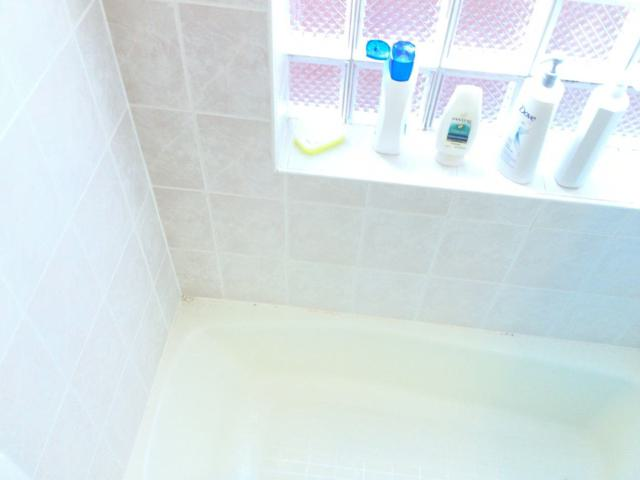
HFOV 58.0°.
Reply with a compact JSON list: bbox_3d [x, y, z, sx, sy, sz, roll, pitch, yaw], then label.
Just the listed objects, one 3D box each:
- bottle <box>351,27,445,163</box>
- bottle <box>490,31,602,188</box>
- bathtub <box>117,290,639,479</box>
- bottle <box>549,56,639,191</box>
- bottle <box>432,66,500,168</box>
[{"bbox_3d":[0.170,-0.320,1.300,0.170,0.250,0.130,7,50,3],"label":"bottle"},{"bbox_3d":[0.470,-0.270,1.240,0.120,0.300,0.130,7,50,3],"label":"bottle"},{"bbox_3d":[0.240,0.640,1.640,1.450,0.360,0.750,7,51,3],"label":"bathtub"},{"bbox_3d":[0.590,-0.240,1.230,0.100,0.270,0.100,7,50,3],"label":"bottle"},{"bbox_3d":[0.320,-0.270,1.290,0.100,0.200,0.090,7,50,3],"label":"bottle"}]
